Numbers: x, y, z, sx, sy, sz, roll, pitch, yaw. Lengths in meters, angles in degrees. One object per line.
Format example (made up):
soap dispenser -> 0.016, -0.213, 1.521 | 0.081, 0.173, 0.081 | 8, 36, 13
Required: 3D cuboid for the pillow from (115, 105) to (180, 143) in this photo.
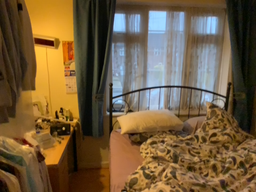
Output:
pillow -> 0.200, 0.300, 2.420 | 0.650, 0.280, 0.410 | -2, 12, -11
